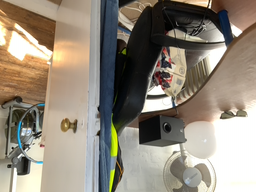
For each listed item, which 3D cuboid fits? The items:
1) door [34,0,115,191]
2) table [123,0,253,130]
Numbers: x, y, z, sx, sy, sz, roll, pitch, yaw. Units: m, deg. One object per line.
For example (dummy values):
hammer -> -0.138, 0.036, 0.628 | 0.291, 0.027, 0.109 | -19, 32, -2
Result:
door -> -0.310, 0.040, 1.070 | 0.090, 1.680, 0.820 | 10, 156, -30
table -> 0.380, -0.220, 1.580 | 0.580, 0.800, 0.600 | 11, 155, -33
